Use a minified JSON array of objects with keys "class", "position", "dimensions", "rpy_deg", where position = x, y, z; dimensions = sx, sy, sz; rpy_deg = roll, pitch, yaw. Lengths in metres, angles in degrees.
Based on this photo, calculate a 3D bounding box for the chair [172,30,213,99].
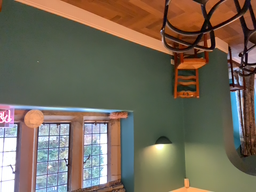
[{"class":"chair","position":[0.990,-0.470,3.350],"dimensions":[0.430,0.980,0.480],"rpy_deg":[-1,173,-5]}]
